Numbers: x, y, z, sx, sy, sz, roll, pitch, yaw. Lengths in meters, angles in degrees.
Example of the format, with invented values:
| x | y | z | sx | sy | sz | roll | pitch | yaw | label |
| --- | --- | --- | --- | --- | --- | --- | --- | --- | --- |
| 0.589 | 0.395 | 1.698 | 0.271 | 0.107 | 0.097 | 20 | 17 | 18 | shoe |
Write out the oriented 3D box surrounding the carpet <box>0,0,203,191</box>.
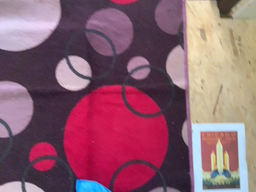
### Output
| x | y | z | sx | sy | sz | roll | pitch | yaw | label |
| --- | --- | --- | --- | --- | --- | --- | --- | --- | --- |
| -0.130 | 0.040 | 0.830 | 0.800 | 0.090 | 1.290 | 0 | 84 | -4 | carpet |
